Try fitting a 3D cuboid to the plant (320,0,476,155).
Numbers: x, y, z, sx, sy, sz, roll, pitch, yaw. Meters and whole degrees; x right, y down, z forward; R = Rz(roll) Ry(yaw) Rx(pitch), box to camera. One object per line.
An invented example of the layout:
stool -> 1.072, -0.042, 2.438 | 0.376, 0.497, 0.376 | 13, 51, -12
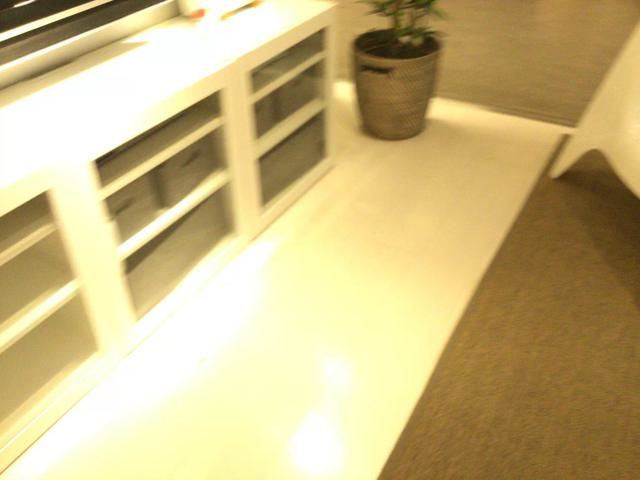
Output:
plant -> 0.330, -0.770, 2.480 | 0.460, 0.570, 0.420 | -25, 41, -23
